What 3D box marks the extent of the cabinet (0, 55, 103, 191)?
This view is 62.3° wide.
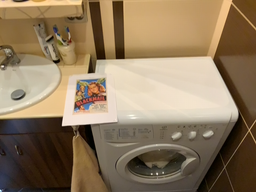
[{"bbox_3d":[-0.560,0.230,1.270,0.720,0.820,0.440,-1,45,-1],"label":"cabinet"}]

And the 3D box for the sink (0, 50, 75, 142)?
[{"bbox_3d":[-0.560,-0.010,1.030,0.510,0.220,0.400,-2,45,-1],"label":"sink"}]

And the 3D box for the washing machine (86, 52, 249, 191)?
[{"bbox_3d":[0.150,0.230,1.250,0.610,0.830,0.460,-1,45,0],"label":"washing machine"}]
